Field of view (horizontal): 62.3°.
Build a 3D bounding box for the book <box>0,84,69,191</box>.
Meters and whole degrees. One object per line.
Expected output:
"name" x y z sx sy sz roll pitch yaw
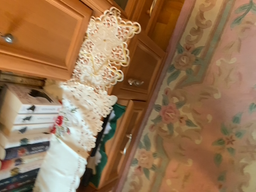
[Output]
"book" -0.490 0.280 0.870 0.200 0.230 0.620 22 96 22
